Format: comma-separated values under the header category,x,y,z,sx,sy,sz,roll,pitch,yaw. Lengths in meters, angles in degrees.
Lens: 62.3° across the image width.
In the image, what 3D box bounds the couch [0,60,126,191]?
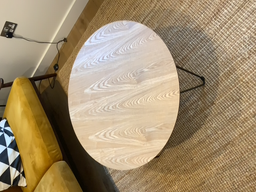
category,x,y,z,sx,sy,sz,roll,pitch,yaw
couch,-0.700,0.700,1.590,0.910,0.730,1.790,-48,62,27

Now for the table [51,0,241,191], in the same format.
category,x,y,z,sx,sy,sz,roll,pitch,yaw
table,0.010,0.000,1.290,0.840,0.350,0.790,-48,62,27
